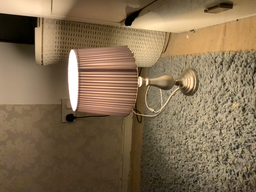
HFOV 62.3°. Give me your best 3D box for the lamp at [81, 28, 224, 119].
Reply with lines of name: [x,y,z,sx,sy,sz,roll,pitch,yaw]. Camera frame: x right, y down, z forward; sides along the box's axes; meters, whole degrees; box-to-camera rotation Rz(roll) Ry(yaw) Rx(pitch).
lamp: [0.080,-0.070,0.790,0.220,0.470,0.260,-163,75,-69]
